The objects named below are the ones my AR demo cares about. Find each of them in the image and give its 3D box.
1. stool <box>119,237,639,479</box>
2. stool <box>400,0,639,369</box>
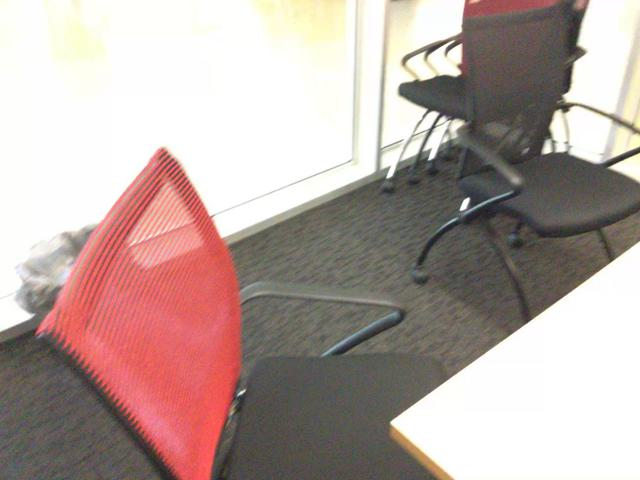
[{"bbox_3d":[0.100,0.470,1.030,0.630,0.720,0.600,2,33,4],"label":"stool"},{"bbox_3d":[0.700,-0.210,1.850,0.590,0.920,0.570,-21,38,-28],"label":"stool"}]
